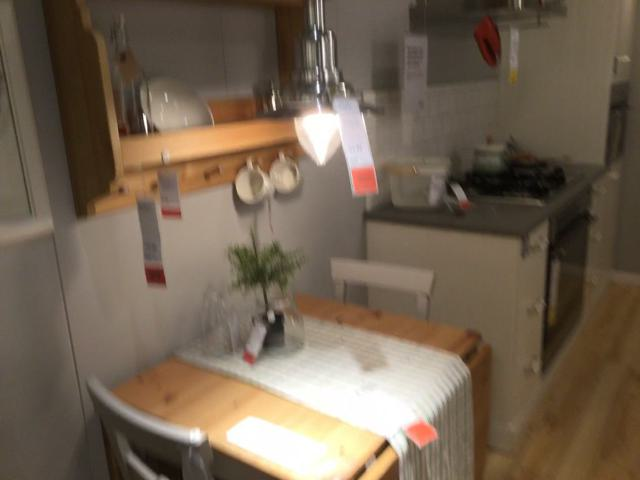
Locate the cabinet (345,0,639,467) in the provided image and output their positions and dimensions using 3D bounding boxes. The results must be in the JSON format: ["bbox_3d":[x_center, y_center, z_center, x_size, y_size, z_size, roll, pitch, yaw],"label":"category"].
[{"bbox_3d":[1.070,-0.550,2.810,0.680,2.220,2.110,6,20,38],"label":"cabinet"}]
